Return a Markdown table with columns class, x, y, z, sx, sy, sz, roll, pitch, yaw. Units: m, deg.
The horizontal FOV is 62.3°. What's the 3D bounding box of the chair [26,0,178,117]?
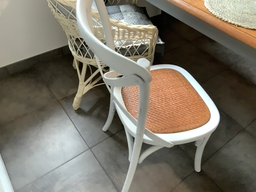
| class | x | y | z | sx | sy | sz | roll | pitch | yaw |
| --- | --- | --- | --- | --- | --- | --- | --- | --- | --- |
| chair | -0.170 | -0.380 | 1.360 | 0.640 | 0.760 | 0.610 | -7 | 49 | -11 |
